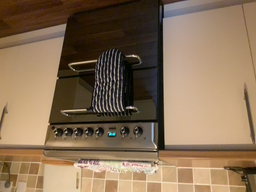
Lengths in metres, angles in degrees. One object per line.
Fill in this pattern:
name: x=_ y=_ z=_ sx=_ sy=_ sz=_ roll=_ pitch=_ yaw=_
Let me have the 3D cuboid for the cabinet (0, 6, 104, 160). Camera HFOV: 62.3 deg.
cabinet: x=-0.690 y=-0.020 z=1.600 sx=0.740 sy=0.900 sz=0.650 roll=-4 pitch=158 yaw=18

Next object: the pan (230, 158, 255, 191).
pan: x=0.710 y=0.490 z=1.190 sx=0.200 sy=0.250 sz=0.280 roll=-4 pitch=158 yaw=19
